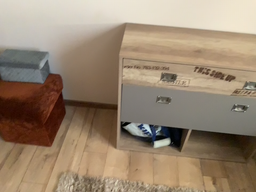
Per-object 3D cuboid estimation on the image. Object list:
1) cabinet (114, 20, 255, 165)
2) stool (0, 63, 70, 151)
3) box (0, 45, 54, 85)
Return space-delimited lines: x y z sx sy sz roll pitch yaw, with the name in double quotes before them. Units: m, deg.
"cabinet" 0.420 0.010 1.340 0.950 0.750 0.390 6 42 2
"stool" -0.670 0.070 1.440 0.400 0.390 0.400 5 42 1
"box" -0.670 -0.200 1.340 0.320 0.140 0.190 5 42 0
